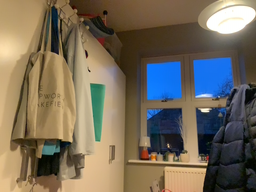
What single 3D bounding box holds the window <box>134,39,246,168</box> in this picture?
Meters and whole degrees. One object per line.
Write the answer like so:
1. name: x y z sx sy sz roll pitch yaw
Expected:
1. window: 0.750 0.090 2.840 1.280 1.560 0.350 -1 -12 12
